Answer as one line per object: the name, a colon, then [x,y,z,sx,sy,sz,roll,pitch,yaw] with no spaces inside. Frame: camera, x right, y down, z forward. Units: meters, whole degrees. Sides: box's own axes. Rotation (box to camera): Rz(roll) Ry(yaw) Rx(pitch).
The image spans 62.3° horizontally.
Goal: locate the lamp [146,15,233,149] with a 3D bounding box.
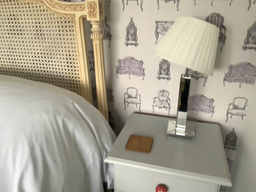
lamp: [0.230,-0.070,0.880,0.250,0.480,0.250,6,25,14]
